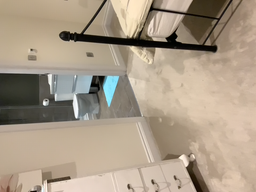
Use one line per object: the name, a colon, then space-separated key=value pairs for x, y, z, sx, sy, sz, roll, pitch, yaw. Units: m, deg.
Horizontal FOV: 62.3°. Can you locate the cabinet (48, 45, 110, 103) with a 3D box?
cabinet: x=-0.910 y=-0.350 z=3.750 sx=0.910 sy=0.900 sz=0.460 roll=116 pitch=144 yaw=-45
